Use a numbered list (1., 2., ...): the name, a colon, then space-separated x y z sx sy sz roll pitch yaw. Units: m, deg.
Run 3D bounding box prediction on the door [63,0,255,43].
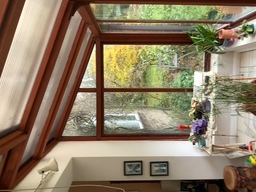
1. door: 0.720 -0.670 0.310 6.300 2.270 0.220 -111 21 -84
